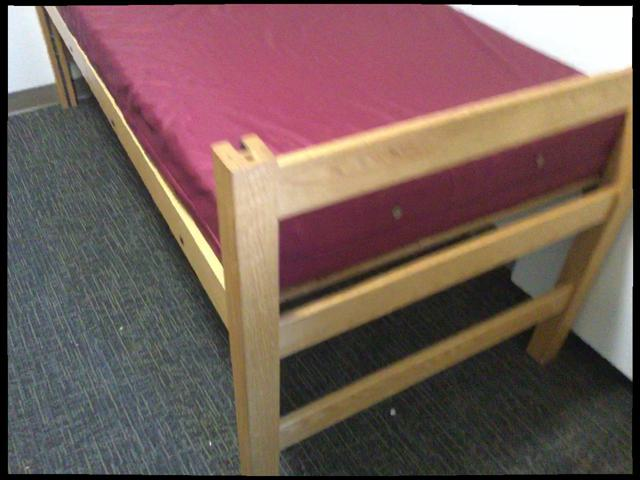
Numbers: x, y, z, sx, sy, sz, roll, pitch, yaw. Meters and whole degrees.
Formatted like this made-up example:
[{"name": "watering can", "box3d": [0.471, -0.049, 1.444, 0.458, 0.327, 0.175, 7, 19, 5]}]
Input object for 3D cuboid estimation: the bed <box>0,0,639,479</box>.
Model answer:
[{"name": "bed", "box3d": [-0.160, -0.431, 1.830, 1.149, 0.961, 2.540, -22, 46, -24]}]
